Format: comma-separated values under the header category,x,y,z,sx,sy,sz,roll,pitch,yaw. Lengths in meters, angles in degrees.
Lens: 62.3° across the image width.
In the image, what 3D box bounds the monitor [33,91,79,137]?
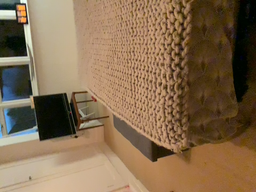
category,x,y,z,sx,sy,sz,roll,pitch,yaw
monitor,-1.150,0.260,3.370,0.710,0.560,0.040,67,151,28
